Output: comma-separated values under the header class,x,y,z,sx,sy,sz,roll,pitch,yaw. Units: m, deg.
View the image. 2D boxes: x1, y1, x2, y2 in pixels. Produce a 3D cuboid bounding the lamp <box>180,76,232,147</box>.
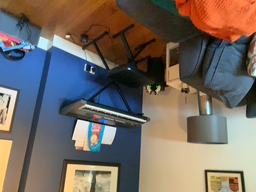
class,x,y,z,sx,sy,sz,roll,pitch,yaw
lamp,0.750,0.170,2.070,0.300,0.600,0.350,18,158,-38
